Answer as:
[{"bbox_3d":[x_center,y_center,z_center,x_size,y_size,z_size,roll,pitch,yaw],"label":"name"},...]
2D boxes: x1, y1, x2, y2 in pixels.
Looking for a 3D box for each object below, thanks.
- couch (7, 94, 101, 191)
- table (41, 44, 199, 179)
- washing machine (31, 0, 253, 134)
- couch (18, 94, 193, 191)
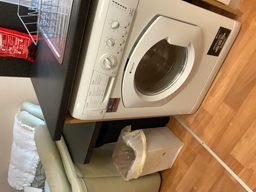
[{"bbox_3d":[-1.290,1.150,3.320,1.160,0.870,2.040,49,129,43],"label":"couch"},{"bbox_3d":[-0.140,0.030,1.740,0.990,0.840,0.450,48,128,43],"label":"table"},{"bbox_3d":[0.020,-0.290,1.210,0.680,0.900,0.610,48,128,43],"label":"washing machine"},{"bbox_3d":[-0.350,0.770,1.930,1.110,0.960,1.150,45,126,44],"label":"couch"}]
